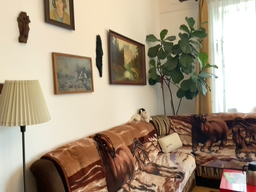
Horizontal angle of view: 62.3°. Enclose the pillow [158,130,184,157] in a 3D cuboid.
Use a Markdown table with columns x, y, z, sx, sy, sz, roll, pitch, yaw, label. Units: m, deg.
| x | y | z | sx | sy | sz | roll | pitch | yaw | label |
| --- | --- | --- | --- | --- | --- | --- | --- | --- | --- |
| 0.690 | 0.750 | 3.380 | 0.400 | 0.310 | 0.120 | -9 | -12 | -45 | pillow |
